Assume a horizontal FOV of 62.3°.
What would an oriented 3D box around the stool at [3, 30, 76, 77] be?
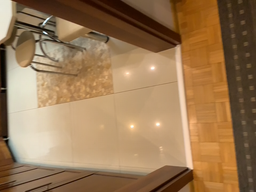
[{"bbox_3d":[-0.800,-0.360,1.960,0.290,0.530,0.280,-11,83,36],"label":"stool"}]
